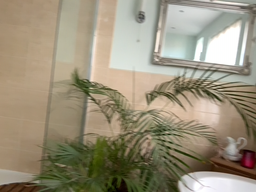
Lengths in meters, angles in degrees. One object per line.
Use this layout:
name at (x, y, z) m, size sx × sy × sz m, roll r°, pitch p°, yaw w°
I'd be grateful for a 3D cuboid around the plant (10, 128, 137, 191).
plant at (-0.250, 0.670, 1.190) m, size 0.480 × 0.810 × 0.690 m, roll 7°, pitch 1°, yaw 4°
